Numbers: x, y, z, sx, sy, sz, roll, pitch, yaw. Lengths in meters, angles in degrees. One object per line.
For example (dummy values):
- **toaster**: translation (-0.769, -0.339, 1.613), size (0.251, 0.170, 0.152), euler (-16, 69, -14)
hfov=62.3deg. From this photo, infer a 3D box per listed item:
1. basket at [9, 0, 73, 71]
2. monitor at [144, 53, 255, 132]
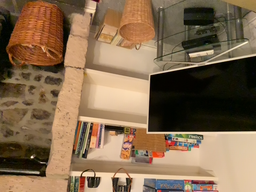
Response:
- **basket**: translation (-0.720, -0.530, 1.800), size (0.380, 0.400, 0.550), euler (9, 164, -20)
- **monitor**: translation (0.540, 0.010, 1.570), size (0.910, 0.500, 0.080), euler (-7, 162, 34)
